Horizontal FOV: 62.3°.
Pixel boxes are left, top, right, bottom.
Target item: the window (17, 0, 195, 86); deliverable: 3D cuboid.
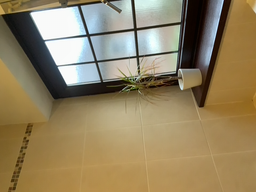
[{"bbox_3d":[-0.100,-0.360,1.440,0.630,0.990,0.110,81,-175,-52],"label":"window"}]
